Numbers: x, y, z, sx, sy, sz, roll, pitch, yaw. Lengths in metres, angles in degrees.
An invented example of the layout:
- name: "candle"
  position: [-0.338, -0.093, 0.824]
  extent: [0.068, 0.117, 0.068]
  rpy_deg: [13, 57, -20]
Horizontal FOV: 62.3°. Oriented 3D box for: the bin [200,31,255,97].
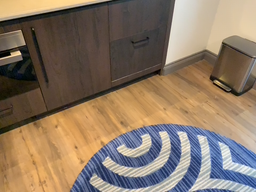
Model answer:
- name: "bin"
  position: [0.980, -0.310, 2.040]
  extent: [0.280, 0.470, 0.350]
  rpy_deg: [-22, 47, -27]
